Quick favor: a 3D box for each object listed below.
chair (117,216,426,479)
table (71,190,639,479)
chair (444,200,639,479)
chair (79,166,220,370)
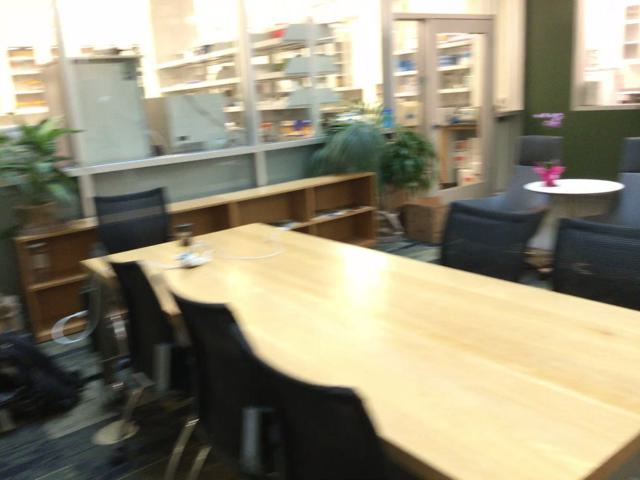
[{"bbox_3d":[-0.150,0.470,1.850,0.670,0.910,0.660,-14,17,-31],"label":"chair"},{"bbox_3d":[0.000,0.440,2.160,1.160,0.860,2.520,-14,17,-31],"label":"table"},{"bbox_3d":[0.810,0.420,1.750,0.560,0.940,0.700,7,18,39],"label":"chair"},{"bbox_3d":[-1.040,0.110,3.490,0.520,1.000,0.780,-12,16,-26],"label":"chair"}]
